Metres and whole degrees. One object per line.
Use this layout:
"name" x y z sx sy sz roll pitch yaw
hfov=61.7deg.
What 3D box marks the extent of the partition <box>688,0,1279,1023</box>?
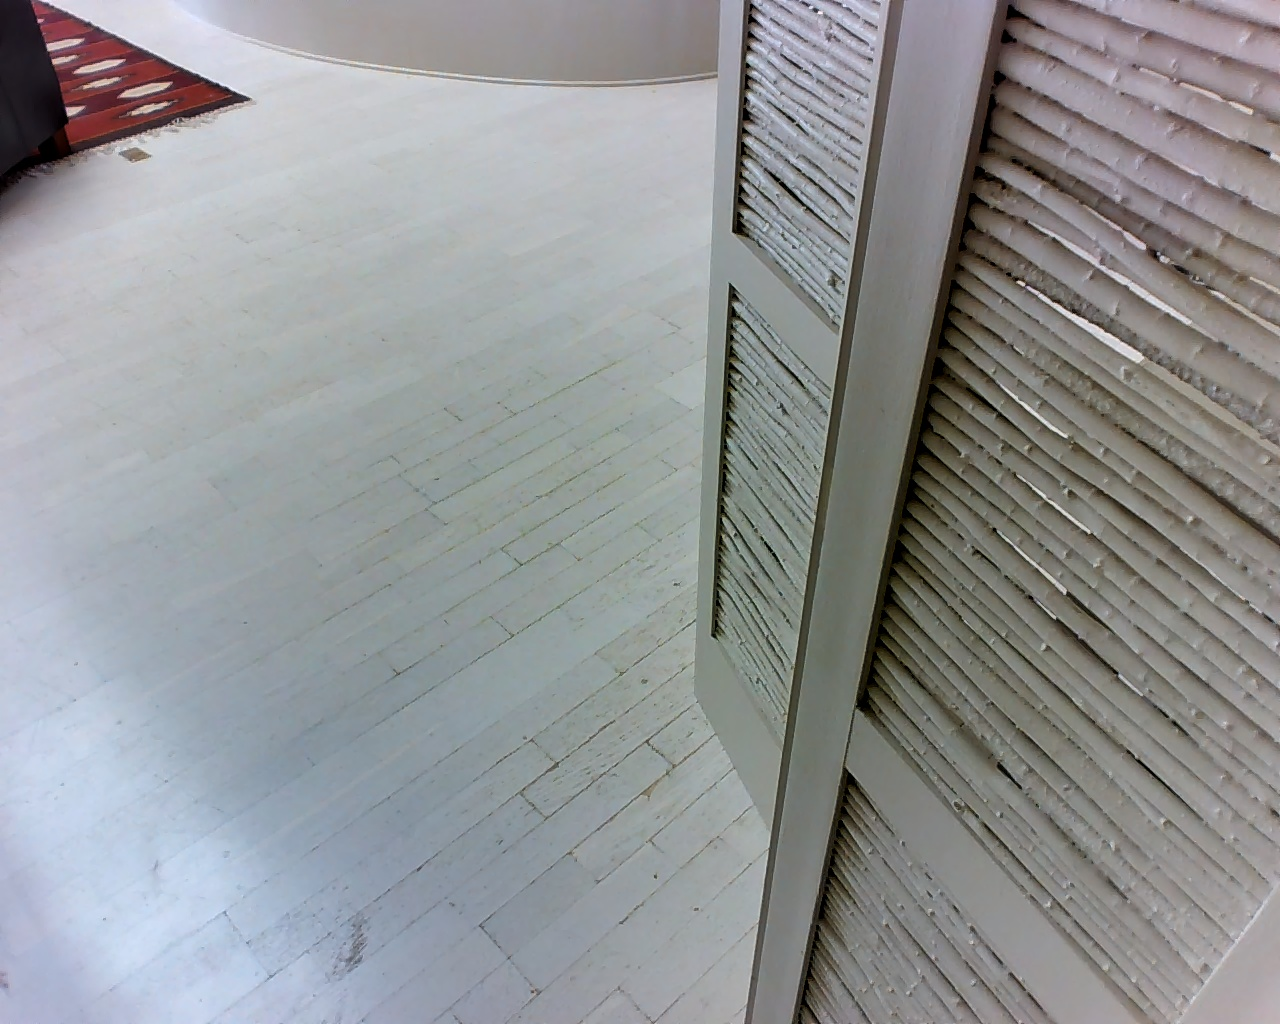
"partition" 0.250 -0.200 0.920 0.370 2.000 1.330 1 41 2
